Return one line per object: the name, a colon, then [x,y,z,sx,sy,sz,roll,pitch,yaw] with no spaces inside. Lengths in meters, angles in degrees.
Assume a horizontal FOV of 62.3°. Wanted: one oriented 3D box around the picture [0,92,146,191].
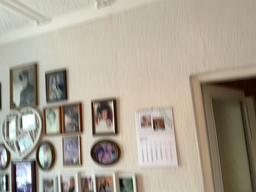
picture: [-0.660,0.390,1.510,1.570,0.640,0.070,-8,-8,20]
